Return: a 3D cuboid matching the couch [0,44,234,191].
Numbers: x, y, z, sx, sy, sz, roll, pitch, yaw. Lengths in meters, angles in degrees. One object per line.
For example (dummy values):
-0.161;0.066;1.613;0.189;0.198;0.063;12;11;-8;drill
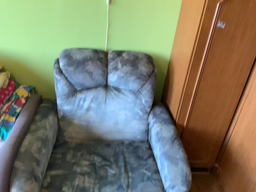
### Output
-0.150;0.290;1.590;1.080;1.020;1.000;2;28;-9;couch
